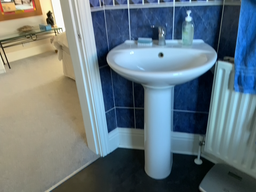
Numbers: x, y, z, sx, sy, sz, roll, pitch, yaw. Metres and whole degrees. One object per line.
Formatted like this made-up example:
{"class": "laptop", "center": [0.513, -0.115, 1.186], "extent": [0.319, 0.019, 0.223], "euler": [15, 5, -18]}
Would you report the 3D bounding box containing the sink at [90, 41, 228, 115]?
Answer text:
{"class": "sink", "center": [0.160, -0.130, 1.100], "extent": [0.560, 0.200, 0.440], "euler": [3, 29, 12]}
